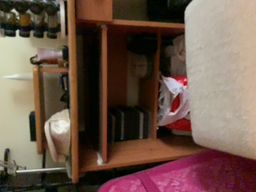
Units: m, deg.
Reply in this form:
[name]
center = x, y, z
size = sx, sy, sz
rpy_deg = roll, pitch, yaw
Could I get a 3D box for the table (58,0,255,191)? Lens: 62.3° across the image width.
[table]
center = 0.090, -0.140, 1.010
size = 0.530, 0.780, 0.840
rpy_deg = -146, 57, -70
